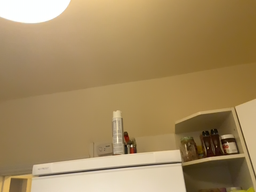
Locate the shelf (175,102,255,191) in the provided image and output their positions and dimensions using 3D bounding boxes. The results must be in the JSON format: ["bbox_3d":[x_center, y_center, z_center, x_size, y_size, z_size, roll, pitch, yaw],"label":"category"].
[{"bbox_3d":[0.450,0.450,1.090,0.290,0.720,0.360,-8,-25,8],"label":"shelf"}]
